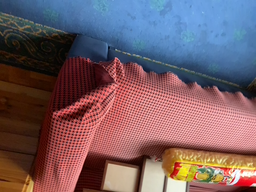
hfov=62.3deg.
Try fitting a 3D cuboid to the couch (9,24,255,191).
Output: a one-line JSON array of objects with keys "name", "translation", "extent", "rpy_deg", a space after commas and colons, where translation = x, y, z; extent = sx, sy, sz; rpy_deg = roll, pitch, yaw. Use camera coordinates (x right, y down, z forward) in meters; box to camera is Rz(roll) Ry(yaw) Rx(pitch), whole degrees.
[{"name": "couch", "translation": [0.280, 0.450, 1.210], "extent": [1.450, 0.830, 1.030], "rpy_deg": [13, 128, -13]}]
